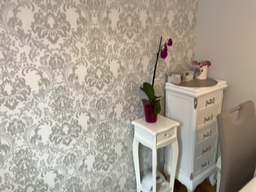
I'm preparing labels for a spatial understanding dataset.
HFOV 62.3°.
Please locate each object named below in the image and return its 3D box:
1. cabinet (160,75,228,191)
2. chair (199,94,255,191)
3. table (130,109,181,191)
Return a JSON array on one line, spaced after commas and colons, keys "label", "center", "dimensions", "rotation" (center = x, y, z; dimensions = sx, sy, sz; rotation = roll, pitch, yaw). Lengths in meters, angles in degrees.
[{"label": "cabinet", "center": [0.570, 0.360, 1.920], "dimensions": [0.420, 1.010, 0.340], "rotation": [-15, 23, -35]}, {"label": "chair", "center": [0.810, 0.570, 1.300], "dimensions": [0.450, 0.990, 0.540], "rotation": [-15, 23, -35]}, {"label": "table", "center": [0.220, 0.550, 1.760], "dimensions": [0.280, 0.790, 0.270], "rotation": [-15, 23, -35]}]
